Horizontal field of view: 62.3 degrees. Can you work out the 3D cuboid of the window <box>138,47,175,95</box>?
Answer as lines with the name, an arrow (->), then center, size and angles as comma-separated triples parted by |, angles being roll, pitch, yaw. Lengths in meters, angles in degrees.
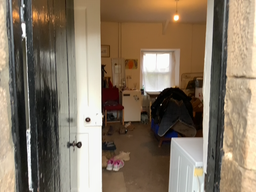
window -> 0.870, -0.750, 6.470 | 1.100, 1.430, 0.100 | -1, 7, -4
